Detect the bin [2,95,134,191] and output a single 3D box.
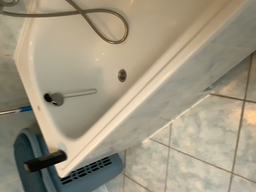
[{"bbox_3d":[-0.400,0.380,1.410,0.360,0.580,0.600,-45,66,39],"label":"bin"}]
